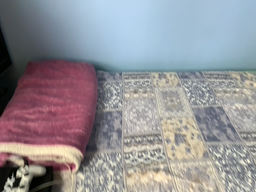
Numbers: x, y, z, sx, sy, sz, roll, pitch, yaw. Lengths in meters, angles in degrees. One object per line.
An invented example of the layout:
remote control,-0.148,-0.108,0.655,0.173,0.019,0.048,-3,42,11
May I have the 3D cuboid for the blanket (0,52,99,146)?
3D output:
blanket,-0.450,-0.040,1.320,0.520,0.160,0.730,-1,37,-6
